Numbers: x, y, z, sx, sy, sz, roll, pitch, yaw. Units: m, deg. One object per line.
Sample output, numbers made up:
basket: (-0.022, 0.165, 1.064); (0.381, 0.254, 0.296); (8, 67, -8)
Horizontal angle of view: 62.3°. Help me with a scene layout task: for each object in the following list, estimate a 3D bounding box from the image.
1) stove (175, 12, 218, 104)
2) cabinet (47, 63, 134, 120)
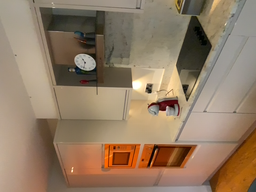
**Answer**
stove: (0.560, -0.320, 1.860); (0.610, 0.040, 0.510); (98, 171, -47)
cabinet: (-0.380, -0.030, 2.300); (0.540, 0.820, 0.300); (98, 171, -47)
